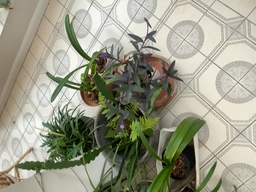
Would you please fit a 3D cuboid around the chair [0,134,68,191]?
[{"bbox_3d":[-1.120,0.850,1.880,0.640,0.820,0.660,20,104,29],"label":"chair"}]
